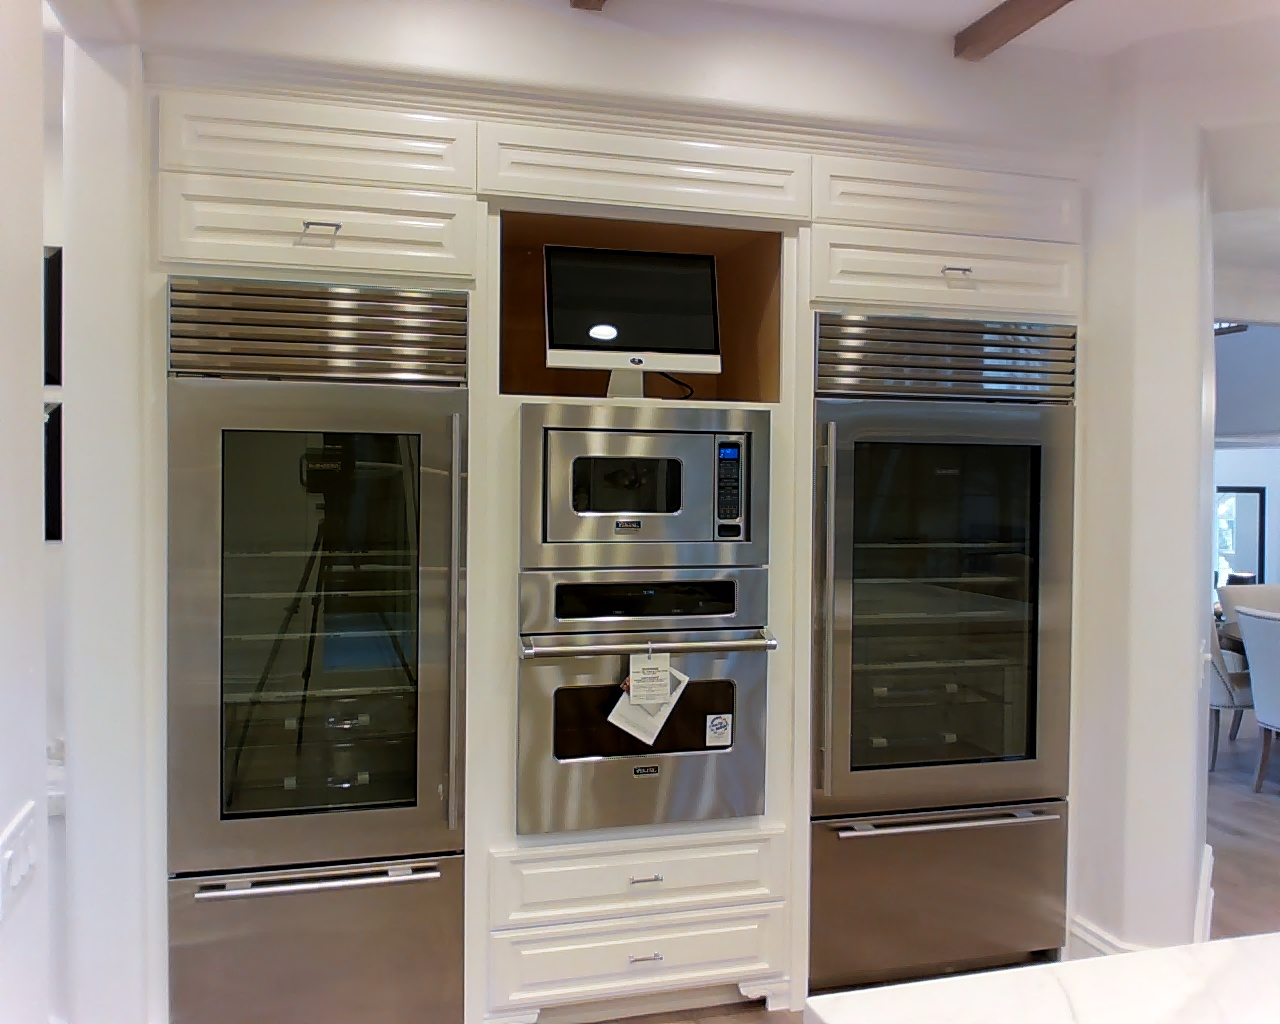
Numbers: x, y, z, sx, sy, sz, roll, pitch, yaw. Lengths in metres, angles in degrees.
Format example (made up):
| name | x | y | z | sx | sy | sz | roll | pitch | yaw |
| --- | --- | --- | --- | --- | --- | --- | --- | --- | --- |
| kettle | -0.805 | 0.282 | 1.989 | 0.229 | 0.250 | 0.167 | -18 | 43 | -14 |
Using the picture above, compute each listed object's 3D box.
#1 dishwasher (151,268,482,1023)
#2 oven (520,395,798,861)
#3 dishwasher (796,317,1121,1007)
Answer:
| name | x | y | z | sx | sy | sz | roll | pitch | yaw |
| --- | --- | --- | --- | --- | --- | --- | --- | --- | --- |
| dishwasher | -0.850 | 0.410 | 2.870 | 0.820 | 2.031 | 0.150 | 0 | 1 | -16 |
| oven | 0.060 | 0.320 | 3.120 | 0.790 | 1.280 | 0.140 | 0 | 1 | -16 |
| dishwasher | 1.020 | 0.450 | 3.430 | 1.000 | 2.051 | 0.230 | 0 | 1 | -16 |
